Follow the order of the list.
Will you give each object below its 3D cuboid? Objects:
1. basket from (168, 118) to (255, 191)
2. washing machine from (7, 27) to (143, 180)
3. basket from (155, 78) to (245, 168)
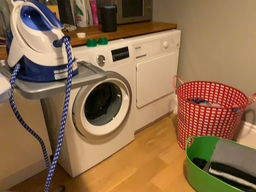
[{"bbox_3d":[0.610,0.440,1.250,0.620,0.320,0.370,15,30,29],"label":"basket"},{"bbox_3d":[-0.390,-0.040,1.670,0.620,0.840,0.780,-23,34,-38],"label":"washing machine"},{"bbox_3d":[0.560,0.170,1.670,0.550,0.430,0.440,12,28,23],"label":"basket"}]
